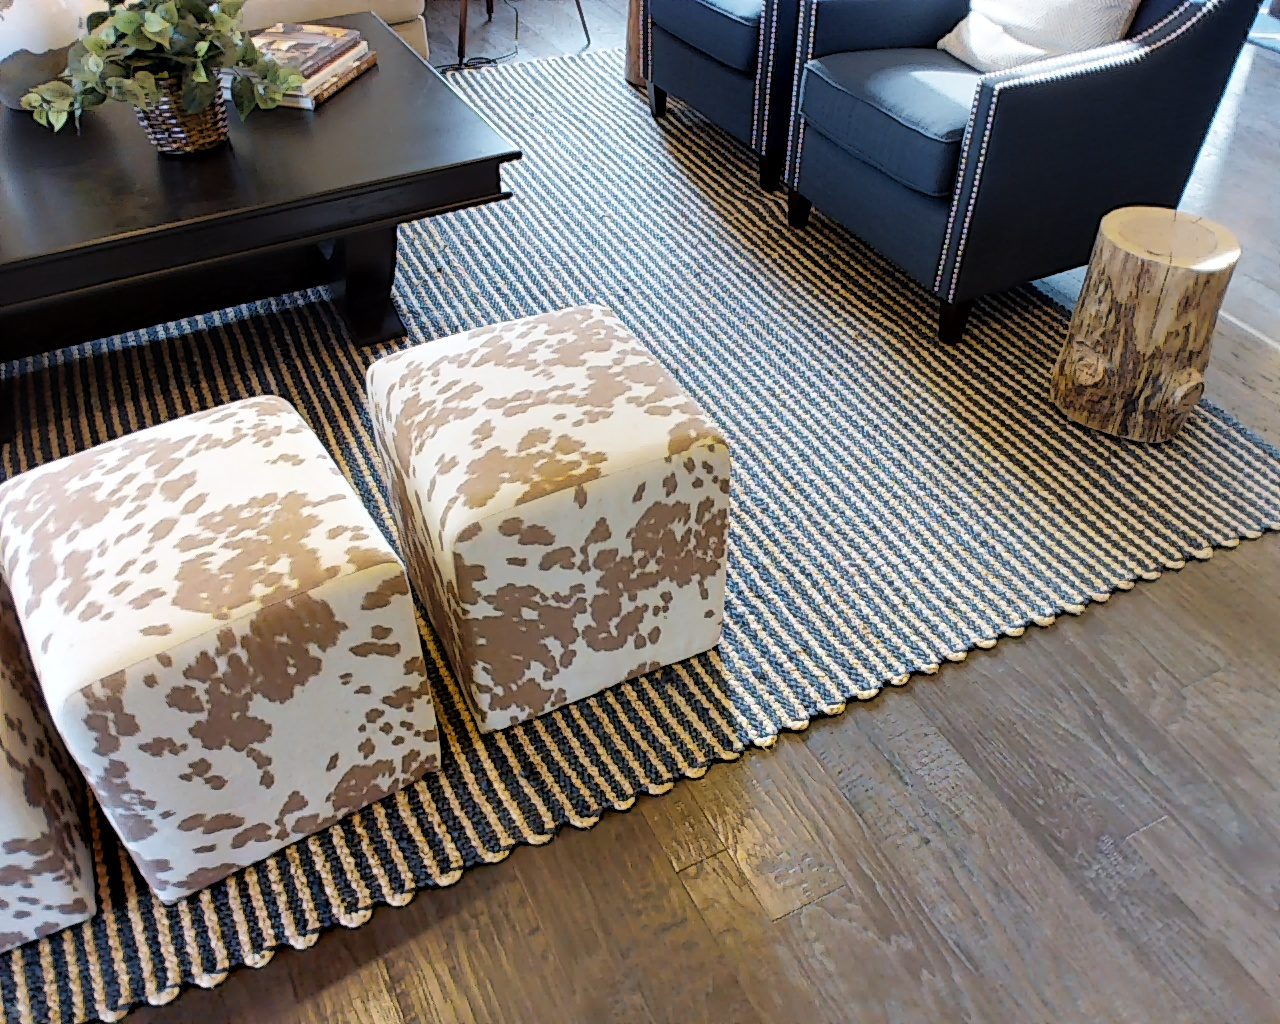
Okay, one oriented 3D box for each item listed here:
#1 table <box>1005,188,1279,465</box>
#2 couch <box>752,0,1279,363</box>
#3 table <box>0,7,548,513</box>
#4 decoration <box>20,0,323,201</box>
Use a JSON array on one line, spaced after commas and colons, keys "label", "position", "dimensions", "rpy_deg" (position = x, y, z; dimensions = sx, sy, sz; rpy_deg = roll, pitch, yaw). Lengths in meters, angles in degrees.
[{"label": "table", "position": [1.040, -0.390, 2.240], "dimensions": [0.320, 0.420, 0.310], "rpy_deg": [-15, 43, -16]}, {"label": "couch", "position": [0.870, -1.050, 2.630], "dimensions": [0.820, 0.900, 0.810], "rpy_deg": [-19, 45, -20]}, {"label": "table", "position": [-1.160, -0.640, 2.480], "dimensions": [1.550, 0.510, 1.100], "rpy_deg": [-19, 45, -20]}, {"label": "decoration", "position": [-0.940, -0.900, 2.140], "dimensions": [0.440, 0.330, 0.390], "rpy_deg": [-21, 45, -22]}]
